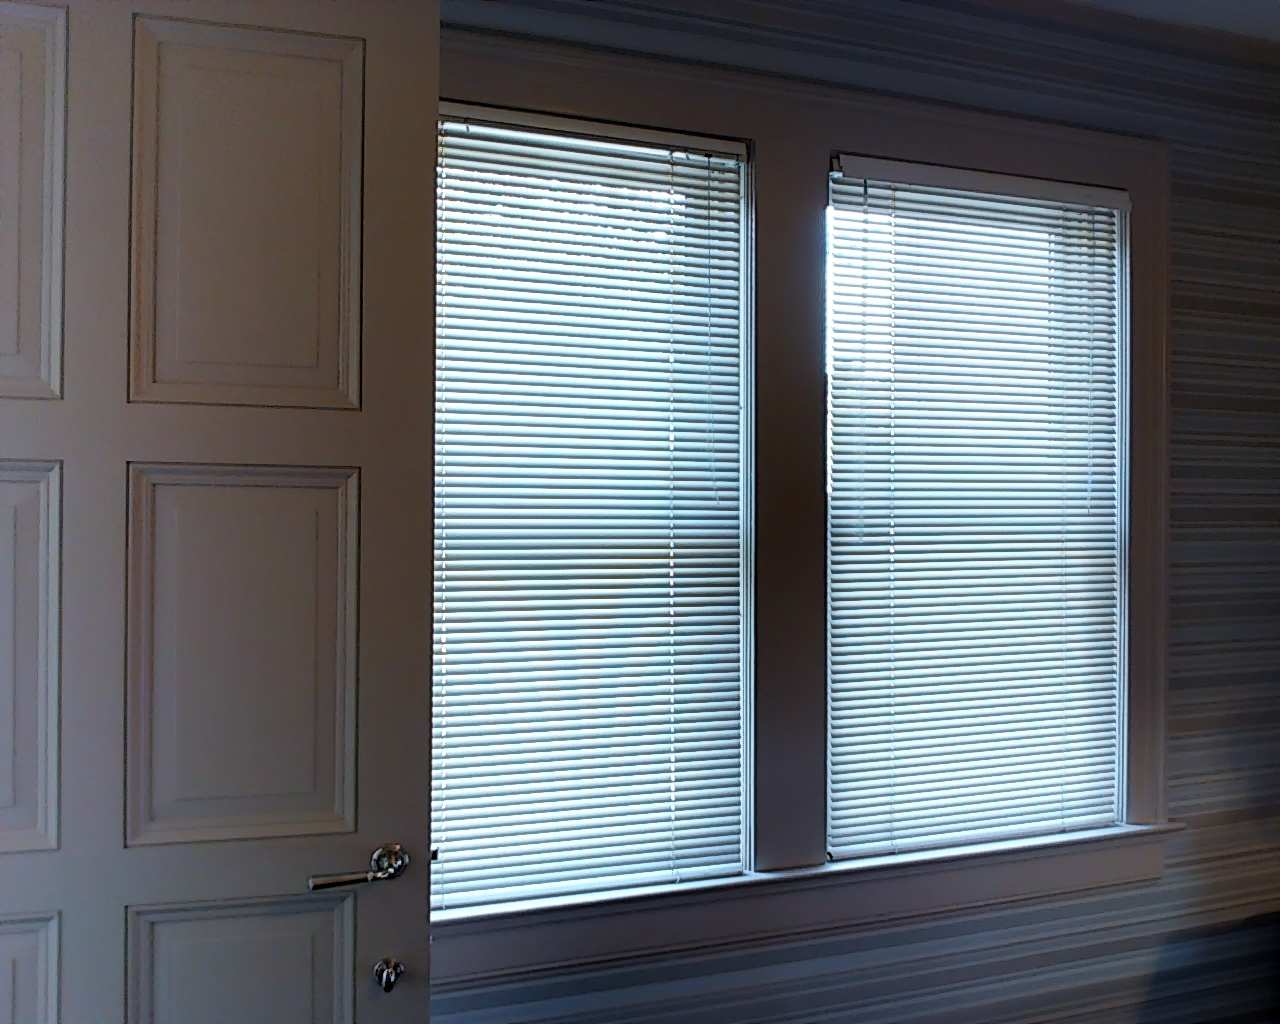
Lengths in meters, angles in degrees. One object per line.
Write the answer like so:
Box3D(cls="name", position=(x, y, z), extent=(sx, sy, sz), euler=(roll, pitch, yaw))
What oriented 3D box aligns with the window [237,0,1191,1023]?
Box3D(cls="window", position=(0.290, -0.020, 2.220), extent=(2.090, 1.790, 0.140), euler=(0, 1, -20))
